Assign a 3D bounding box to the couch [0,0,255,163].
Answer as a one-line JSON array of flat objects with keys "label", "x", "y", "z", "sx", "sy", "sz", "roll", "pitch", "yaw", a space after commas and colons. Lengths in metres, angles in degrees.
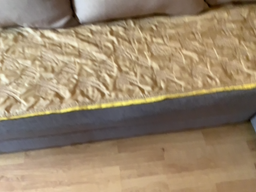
[{"label": "couch", "x": 0.100, "y": -0.300, "z": 0.970, "sx": 2.150, "sy": 0.680, "sz": 0.840, "roll": -6, "pitch": 60, "yaw": -7}]
